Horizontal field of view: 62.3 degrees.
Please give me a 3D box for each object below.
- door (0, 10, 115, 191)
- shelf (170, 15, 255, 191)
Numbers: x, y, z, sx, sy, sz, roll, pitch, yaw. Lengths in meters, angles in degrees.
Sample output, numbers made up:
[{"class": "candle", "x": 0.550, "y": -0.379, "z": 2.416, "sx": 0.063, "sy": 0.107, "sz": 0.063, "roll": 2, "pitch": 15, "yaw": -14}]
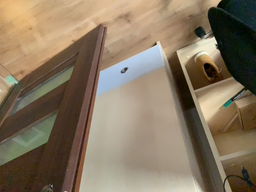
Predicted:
[{"class": "door", "x": -0.420, "y": 0.380, "z": 0.600, "sx": 0.780, "sy": 2.010, "sz": 0.100, "roll": -29, "pitch": 125, "yaw": 23}, {"class": "shelf", "x": 0.580, "y": 0.430, "z": 0.670, "sx": 0.440, "sy": 2.000, "sz": 0.500, "roll": -22, "pitch": 127, "yaw": 17}]
